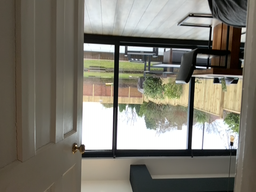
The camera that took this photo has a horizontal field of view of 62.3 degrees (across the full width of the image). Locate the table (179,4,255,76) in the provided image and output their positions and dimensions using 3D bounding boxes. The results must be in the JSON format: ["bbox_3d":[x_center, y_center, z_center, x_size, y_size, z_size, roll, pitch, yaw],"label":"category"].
[{"bbox_3d":[1.940,-0.690,3.090,2.060,0.770,1.000,2,-175,-8],"label":"table"}]
